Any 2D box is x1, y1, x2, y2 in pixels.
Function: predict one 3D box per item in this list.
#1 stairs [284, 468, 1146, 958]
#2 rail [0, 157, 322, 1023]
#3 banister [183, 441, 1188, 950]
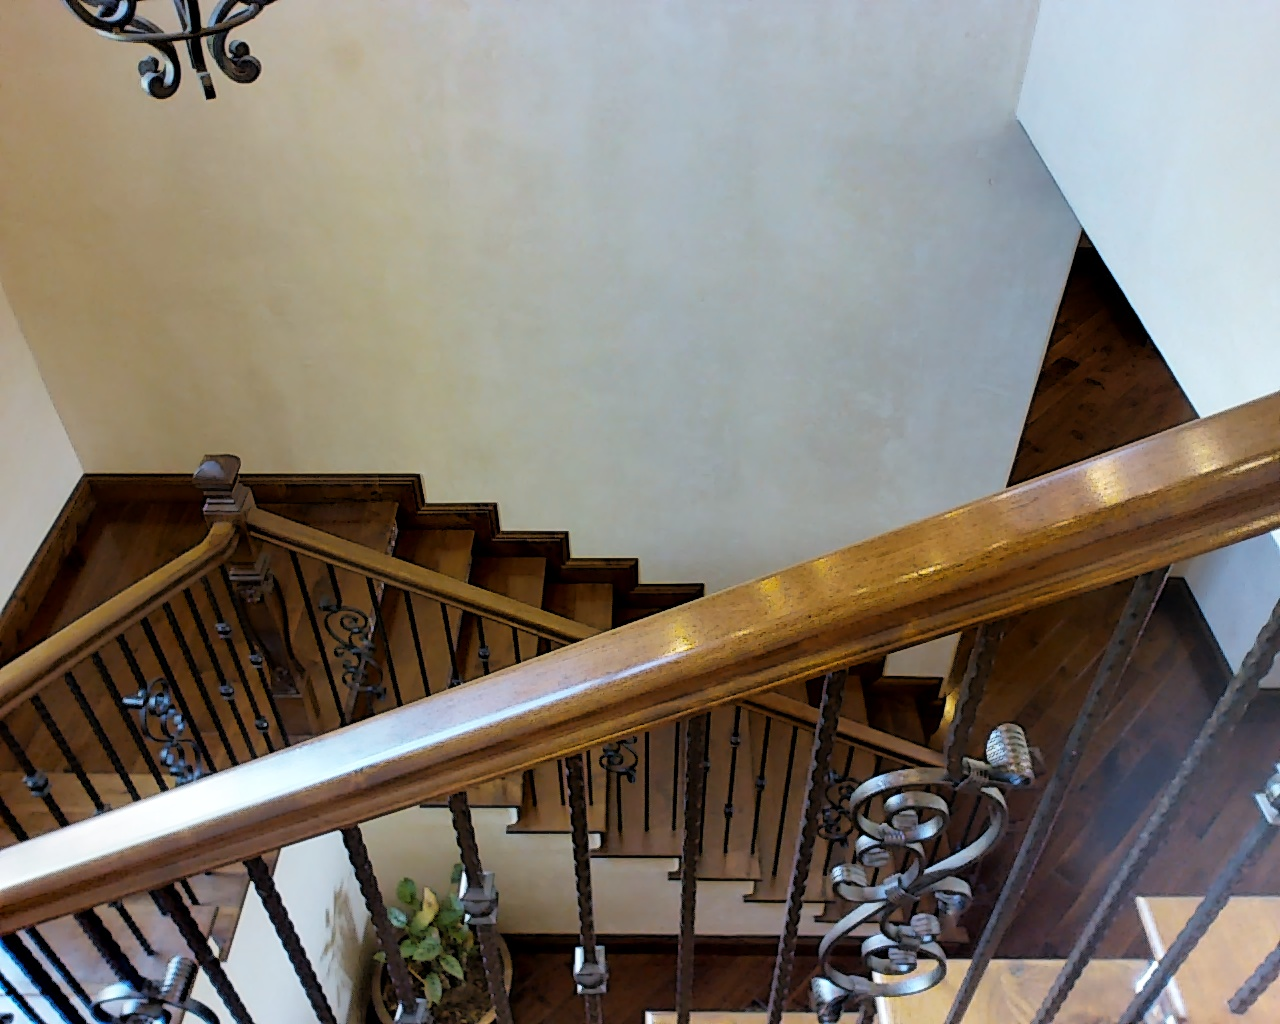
[{"bbox_3d":[0.240,0.830,4.330,2.690,1.630,1.180,0,41,1],"label":"stairs"},{"bbox_3d":[-1.130,0.550,2.320,0.060,1.940,1.840,0,41,1],"label":"rail"},{"bbox_3d":[0.120,0.810,3.640,2.580,2.550,0.120,0,41,1],"label":"banister"}]
